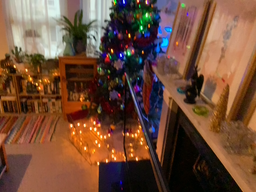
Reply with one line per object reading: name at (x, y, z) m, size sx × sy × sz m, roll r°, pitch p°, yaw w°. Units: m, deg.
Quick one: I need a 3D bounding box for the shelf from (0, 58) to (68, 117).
shelf at (-1.690, -0.130, 3.050) m, size 1.510 × 0.740 × 0.410 m, roll 1°, pitch 24°, yaw -7°
